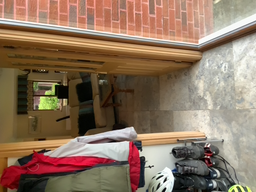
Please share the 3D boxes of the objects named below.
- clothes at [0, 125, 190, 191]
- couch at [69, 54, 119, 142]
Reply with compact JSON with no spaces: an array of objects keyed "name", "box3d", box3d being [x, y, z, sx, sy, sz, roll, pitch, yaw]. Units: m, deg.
[{"name":"clothes","box3d":[-0.280,0.640,1.500,0.620,1.180,0.520,-113,32,-43]},{"name":"couch","box3d":[-0.830,0.090,4.880,0.900,0.880,1.780,148,120,-63]}]
